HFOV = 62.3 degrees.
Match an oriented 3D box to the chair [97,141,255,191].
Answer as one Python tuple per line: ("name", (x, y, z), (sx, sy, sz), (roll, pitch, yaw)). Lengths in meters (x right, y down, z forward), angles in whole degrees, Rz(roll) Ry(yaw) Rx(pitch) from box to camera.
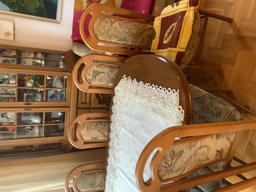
("chair", (0.360, 0.680, 1.420), (0.560, 0.990, 0.470), (23, 110, 58))

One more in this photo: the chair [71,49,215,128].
("chair", (0.120, -0.080, 1.810), (0.550, 1.040, 0.450), (31, 116, 56))
